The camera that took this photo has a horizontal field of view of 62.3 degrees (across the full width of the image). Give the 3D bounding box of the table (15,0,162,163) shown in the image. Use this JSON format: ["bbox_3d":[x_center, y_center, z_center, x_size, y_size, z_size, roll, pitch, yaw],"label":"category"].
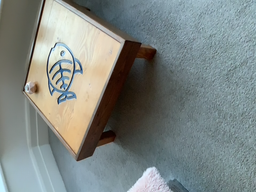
[{"bbox_3d":[-0.360,-0.180,1.480,0.850,0.340,0.830,40,117,29],"label":"table"}]
